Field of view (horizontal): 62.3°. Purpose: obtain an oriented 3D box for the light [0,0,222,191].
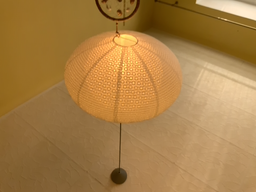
[{"bbox_3d":[-0.040,0.010,1.100,0.560,0.590,1.690,-48,153,-40],"label":"light"}]
